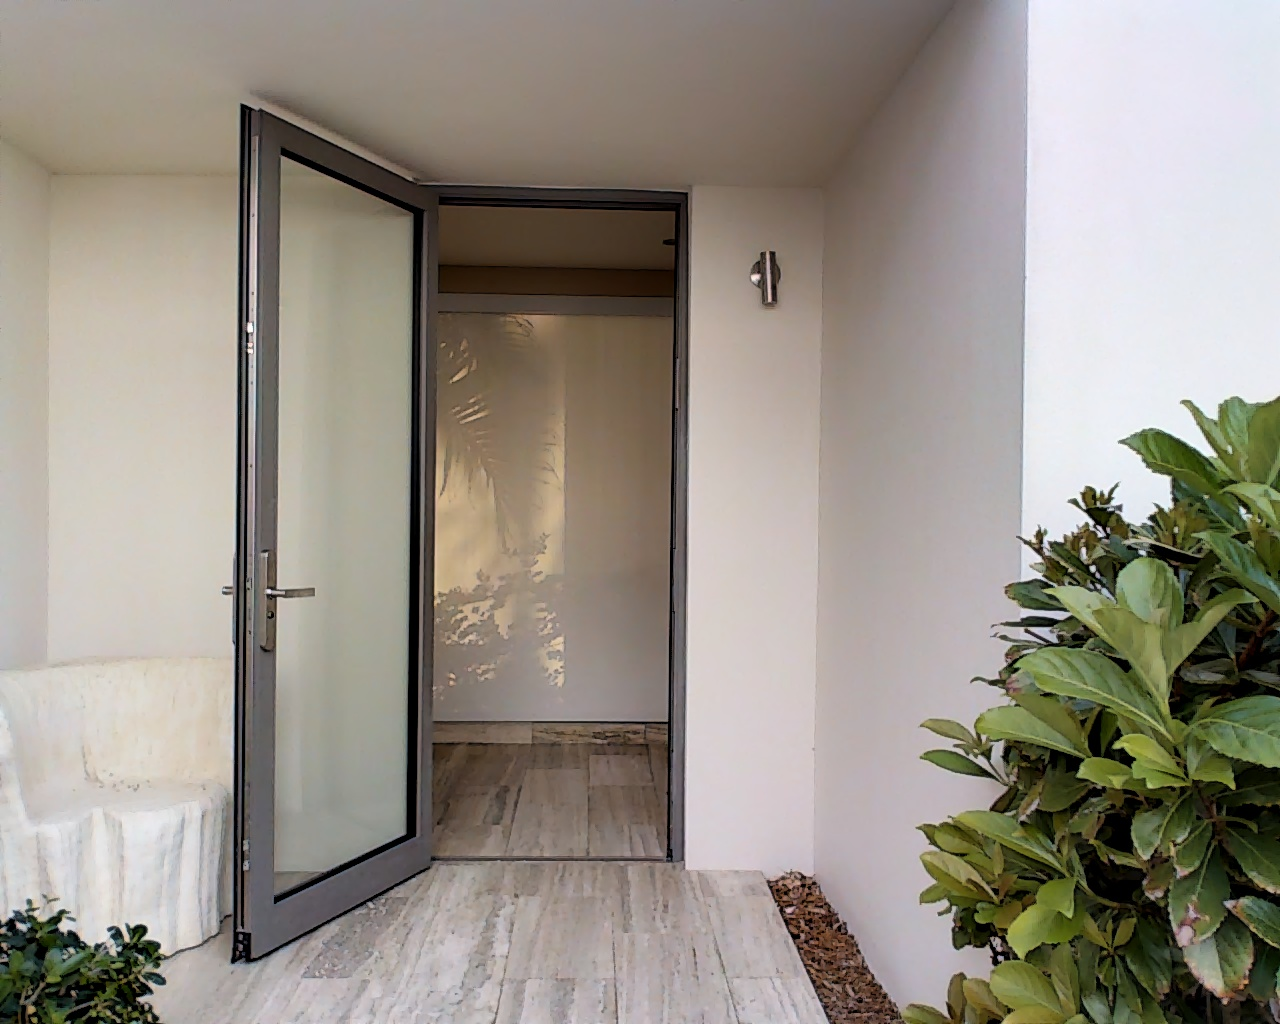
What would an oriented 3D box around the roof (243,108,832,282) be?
[{"bbox_3d":[-0.480,-1.360,4.990,2.030,0.030,1.830,1,1,42],"label":"roof"}]
